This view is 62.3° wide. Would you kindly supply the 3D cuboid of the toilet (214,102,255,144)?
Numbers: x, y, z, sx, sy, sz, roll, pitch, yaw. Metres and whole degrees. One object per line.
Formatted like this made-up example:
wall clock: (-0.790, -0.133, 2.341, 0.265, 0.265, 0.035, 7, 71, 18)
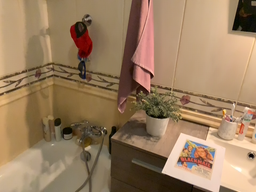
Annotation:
toilet: (0.530, 0.130, 1.040, 0.170, 0.150, 0.070, 14, 26, 21)
